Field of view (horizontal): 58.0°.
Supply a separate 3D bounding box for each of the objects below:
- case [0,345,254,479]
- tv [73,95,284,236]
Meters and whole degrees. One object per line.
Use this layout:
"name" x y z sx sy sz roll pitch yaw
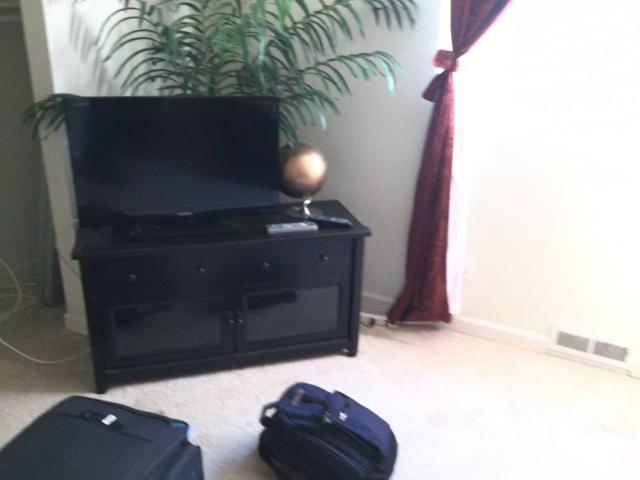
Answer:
"case" -0.630 0.680 1.630 0.500 0.380 0.800 8 18 28
"tv" -0.520 -0.300 2.230 0.730 0.490 0.180 -4 15 -14
